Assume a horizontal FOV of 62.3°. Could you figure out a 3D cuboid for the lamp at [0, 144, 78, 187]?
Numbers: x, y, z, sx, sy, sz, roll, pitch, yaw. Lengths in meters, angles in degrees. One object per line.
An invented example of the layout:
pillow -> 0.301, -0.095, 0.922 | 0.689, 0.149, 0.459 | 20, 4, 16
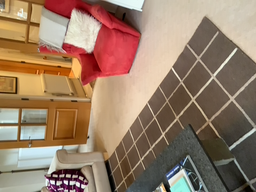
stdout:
lamp -> -1.710, 1.170, 3.600 | 0.410, 1.580, 0.460 | 58, 135, 46
